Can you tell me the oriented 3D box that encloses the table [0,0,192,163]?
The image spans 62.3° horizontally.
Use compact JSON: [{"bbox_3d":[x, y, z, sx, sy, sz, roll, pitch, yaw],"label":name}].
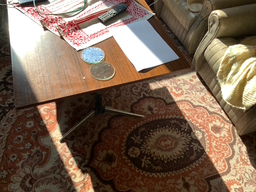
[{"bbox_3d":[-0.310,-0.360,1.340,0.710,0.580,1.220,-14,57,-17],"label":"table"}]
